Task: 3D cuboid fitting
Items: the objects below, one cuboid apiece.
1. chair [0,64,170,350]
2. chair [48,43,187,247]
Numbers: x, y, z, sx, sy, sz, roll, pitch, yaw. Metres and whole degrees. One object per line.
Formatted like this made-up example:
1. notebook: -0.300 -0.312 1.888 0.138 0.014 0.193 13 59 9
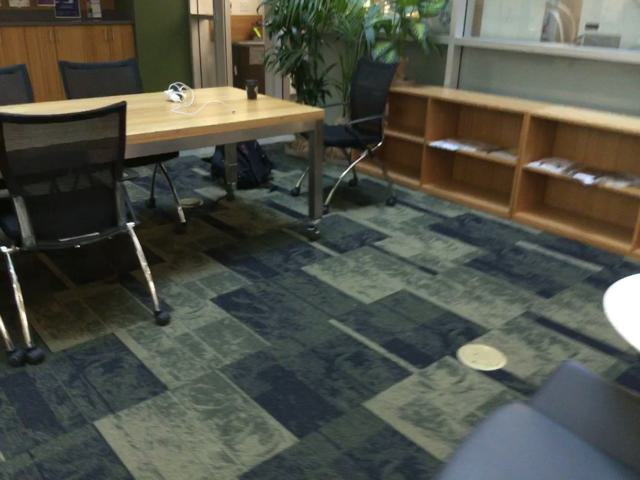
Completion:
1. chair: -1.050 -0.200 2.350 0.550 0.890 0.780 -14 29 -39
2. chair: -1.120 -0.560 3.230 0.470 0.950 0.670 -14 29 -39
